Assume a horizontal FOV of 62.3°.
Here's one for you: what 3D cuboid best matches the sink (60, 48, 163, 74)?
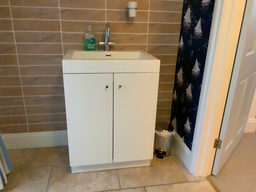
[{"bbox_3d":[-0.130,-0.260,1.480,0.610,0.080,0.470,-2,21,-11],"label":"sink"}]
